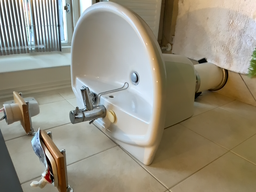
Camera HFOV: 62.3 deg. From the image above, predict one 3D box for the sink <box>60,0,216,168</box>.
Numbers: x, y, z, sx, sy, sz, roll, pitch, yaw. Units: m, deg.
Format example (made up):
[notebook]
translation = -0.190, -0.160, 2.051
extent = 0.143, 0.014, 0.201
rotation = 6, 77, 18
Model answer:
[sink]
translation = -0.040, -0.120, 0.850
extent = 0.630, 0.200, 0.470
rotation = 29, 123, 45
